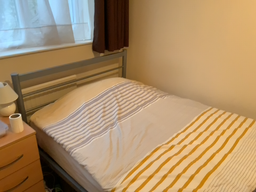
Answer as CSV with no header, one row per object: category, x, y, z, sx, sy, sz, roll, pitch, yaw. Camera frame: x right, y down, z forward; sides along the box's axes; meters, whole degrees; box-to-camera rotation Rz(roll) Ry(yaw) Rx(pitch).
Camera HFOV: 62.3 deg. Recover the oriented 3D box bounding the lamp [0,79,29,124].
lamp,-0.810,0.030,1.440,0.170,0.230,0.160,21,31,37
